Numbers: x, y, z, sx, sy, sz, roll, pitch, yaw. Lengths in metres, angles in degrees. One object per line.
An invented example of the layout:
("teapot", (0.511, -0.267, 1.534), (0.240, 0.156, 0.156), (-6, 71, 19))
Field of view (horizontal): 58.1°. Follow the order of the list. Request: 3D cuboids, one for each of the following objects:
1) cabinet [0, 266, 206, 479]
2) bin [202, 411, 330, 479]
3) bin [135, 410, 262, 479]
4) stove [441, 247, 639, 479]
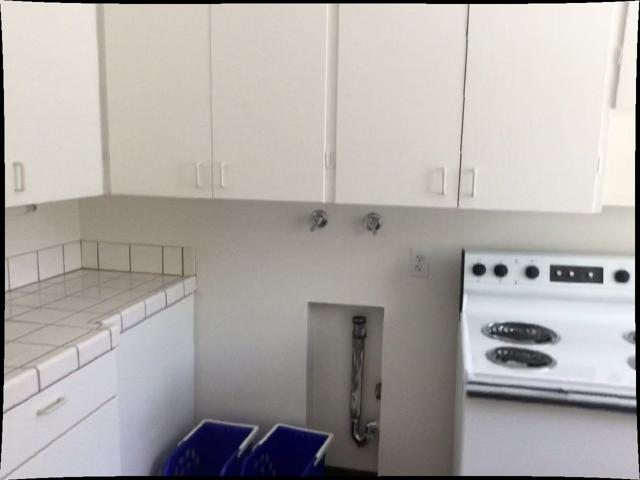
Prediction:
("cabinet", (-0.948, 0.711, 1.910), (0.629, 0.952, 1.330), (3, 11, 12))
("bin", (-0.190, 0.982, 2.270), (0.359, 0.371, 0.500), (3, 11, 12))
("bin", (-0.459, 0.982, 2.300), (0.319, 0.371, 0.490), (3, 11, 12))
("stove", (0.819, 0.671, 1.820), (0.819, 1.132, 0.770), (3, 11, 12))
